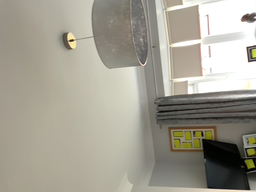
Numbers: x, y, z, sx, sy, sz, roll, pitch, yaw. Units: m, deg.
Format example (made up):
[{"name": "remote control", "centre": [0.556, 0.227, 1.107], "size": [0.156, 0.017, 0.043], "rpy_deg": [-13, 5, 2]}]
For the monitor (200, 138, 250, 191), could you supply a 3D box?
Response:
[{"name": "monitor", "centre": [1.130, 0.800, 2.570], "size": [0.770, 0.470, 0.050], "rpy_deg": [-63, -33, -54]}]
